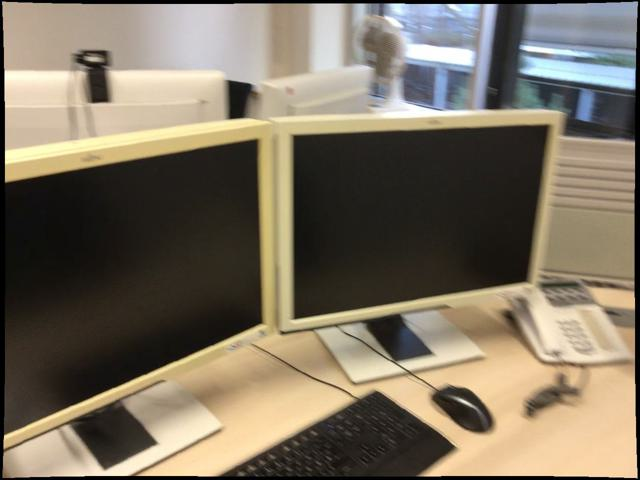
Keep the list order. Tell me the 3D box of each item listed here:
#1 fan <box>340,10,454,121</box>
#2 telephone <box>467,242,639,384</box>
[{"bbox_3d":[0.320,-0.771,2.510,0.260,0.410,0.390,-16,29,-35],"label":"fan"},{"bbox_3d":[0.539,0.140,1.270,0.280,0.120,0.300,-16,29,-34],"label":"telephone"}]
